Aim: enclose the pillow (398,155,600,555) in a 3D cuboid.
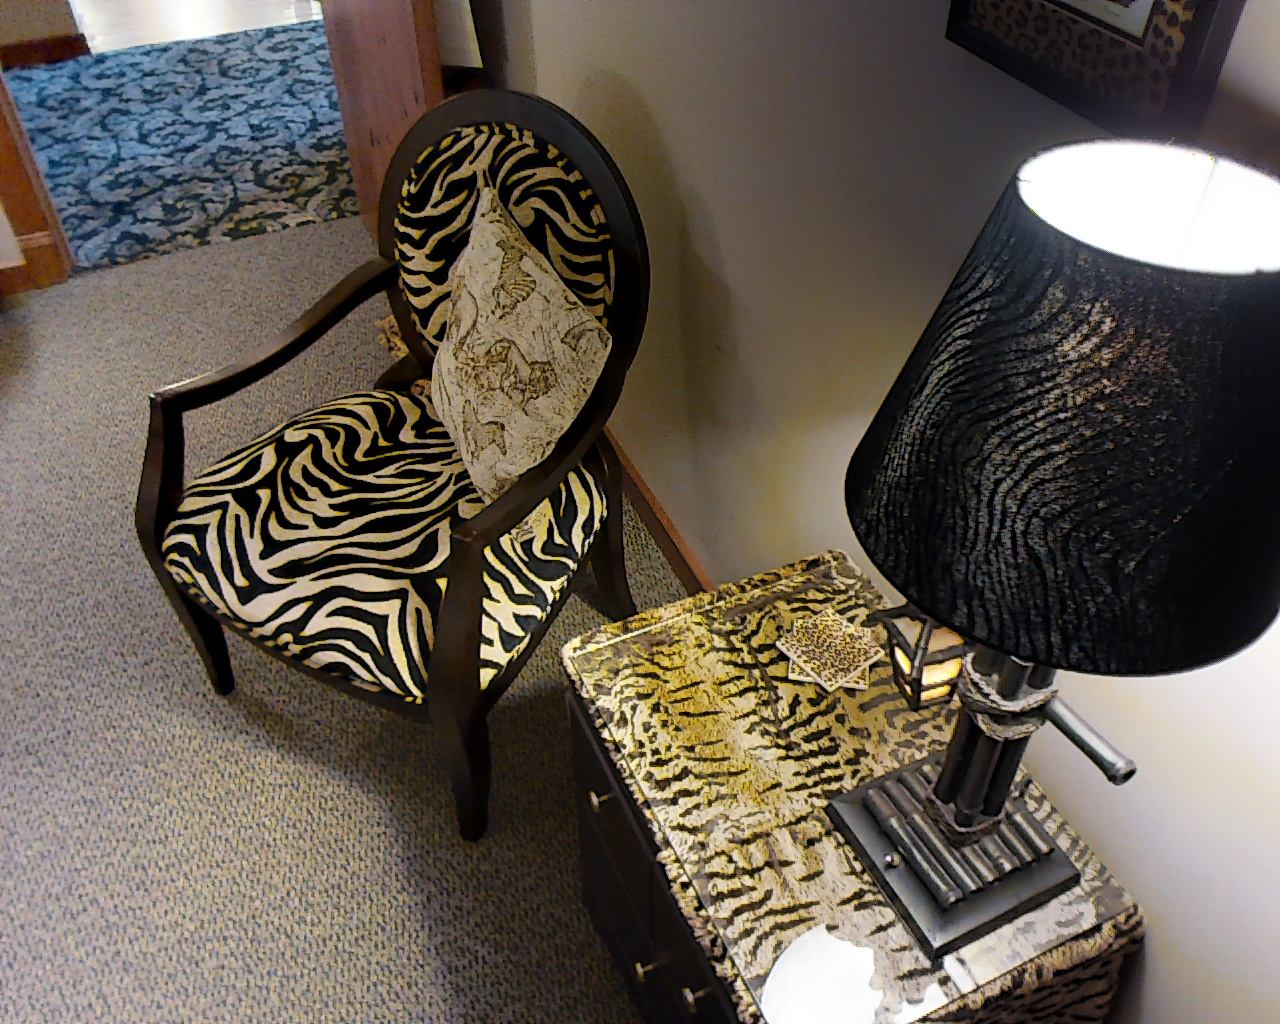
[{"bbox_3d":[-0.230,-0.230,1.670,0.130,0.390,0.460,-18,69,-17],"label":"pillow"}]
